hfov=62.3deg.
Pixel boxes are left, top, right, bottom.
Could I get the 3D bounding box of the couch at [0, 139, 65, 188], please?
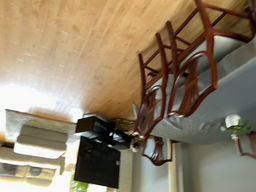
[{"bbox_3d":[-2.940,2.000,6.120,1.830,1.010,1.040,16,149,-23],"label":"couch"}]
